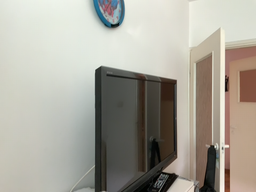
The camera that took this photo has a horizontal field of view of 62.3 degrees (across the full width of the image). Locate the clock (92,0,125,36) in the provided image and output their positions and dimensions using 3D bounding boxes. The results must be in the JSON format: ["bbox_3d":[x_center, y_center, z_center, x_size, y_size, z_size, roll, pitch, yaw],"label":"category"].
[{"bbox_3d":[-0.110,-0.550,1.300,0.040,0.290,0.300,1,1,30],"label":"clock"}]

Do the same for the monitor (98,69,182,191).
[{"bbox_3d":[0.150,0.210,1.240,0.060,0.630,0.960,1,1,30],"label":"monitor"}]
